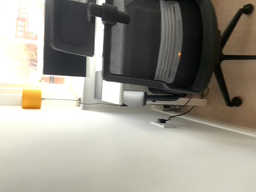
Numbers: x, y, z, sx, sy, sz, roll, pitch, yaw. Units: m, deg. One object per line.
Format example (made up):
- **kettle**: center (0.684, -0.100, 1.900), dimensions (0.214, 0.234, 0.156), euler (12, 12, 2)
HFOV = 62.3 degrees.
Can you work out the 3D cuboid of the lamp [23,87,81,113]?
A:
- **lamp**: center (-0.610, 0.040, 1.710), dimensions (0.180, 0.420, 0.140), euler (-44, 50, 55)
